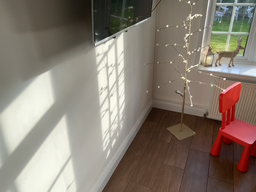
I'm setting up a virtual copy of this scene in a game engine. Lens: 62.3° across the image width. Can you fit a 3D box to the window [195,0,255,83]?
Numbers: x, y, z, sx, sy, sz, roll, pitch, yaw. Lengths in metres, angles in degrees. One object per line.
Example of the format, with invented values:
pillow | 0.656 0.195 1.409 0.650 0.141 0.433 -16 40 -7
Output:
window | 1.610 -0.890 2.200 1.520 1.590 0.200 11 30 19
